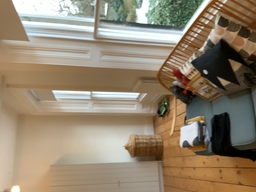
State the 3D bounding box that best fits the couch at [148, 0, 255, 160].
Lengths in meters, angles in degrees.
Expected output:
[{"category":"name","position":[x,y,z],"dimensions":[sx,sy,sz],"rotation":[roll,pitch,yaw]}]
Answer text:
[{"category":"couch","position":[0.850,-0.010,2.040],"dimensions":[1.740,0.760,1.030],"rotation":[119,151,-65]}]
